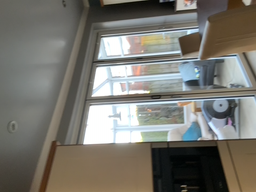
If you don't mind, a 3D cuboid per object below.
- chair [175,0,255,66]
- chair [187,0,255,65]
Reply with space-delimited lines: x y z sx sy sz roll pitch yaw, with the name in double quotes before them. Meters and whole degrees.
"chair" 1.080 -0.720 2.460 0.540 0.950 0.460 74 -167 -64
"chair" 1.000 -0.630 1.600 0.460 0.950 0.540 78 -169 -57
